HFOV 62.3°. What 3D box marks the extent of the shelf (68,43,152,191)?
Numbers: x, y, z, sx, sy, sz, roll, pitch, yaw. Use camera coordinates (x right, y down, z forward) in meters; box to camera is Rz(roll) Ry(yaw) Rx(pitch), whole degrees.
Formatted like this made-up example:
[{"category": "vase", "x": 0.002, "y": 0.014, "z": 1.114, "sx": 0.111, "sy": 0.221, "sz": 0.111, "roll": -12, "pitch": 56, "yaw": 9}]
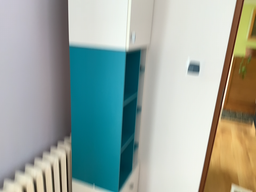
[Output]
[{"category": "shelf", "x": -0.140, "y": 0.130, "z": 1.650, "sx": 0.420, "sy": 1.010, "sz": 0.470, "roll": 12, "pitch": 19, "yaw": 22}]
